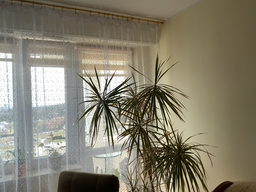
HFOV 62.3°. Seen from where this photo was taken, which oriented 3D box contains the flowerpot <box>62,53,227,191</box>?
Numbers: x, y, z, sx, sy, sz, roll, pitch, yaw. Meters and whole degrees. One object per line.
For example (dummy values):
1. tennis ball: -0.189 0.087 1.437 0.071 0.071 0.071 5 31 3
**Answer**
1. flowerpot: 0.160 0.610 2.040 1.220 1.800 0.860 -2 -1 6
